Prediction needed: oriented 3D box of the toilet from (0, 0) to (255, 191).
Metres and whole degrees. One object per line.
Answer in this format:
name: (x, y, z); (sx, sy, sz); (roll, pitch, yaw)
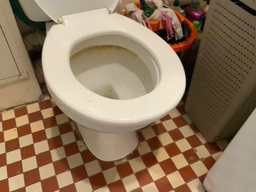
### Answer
toilet: (-0.120, -0.240, 0.650); (0.410, 0.830, 0.720); (-19, 52, -19)
